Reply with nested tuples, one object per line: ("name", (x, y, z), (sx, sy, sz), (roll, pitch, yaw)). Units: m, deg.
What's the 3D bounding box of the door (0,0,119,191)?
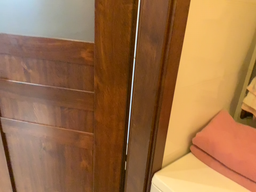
("door", (-0.330, 0.060, 0.900), (0.530, 2.070, 0.060), (10, 24, 11))
